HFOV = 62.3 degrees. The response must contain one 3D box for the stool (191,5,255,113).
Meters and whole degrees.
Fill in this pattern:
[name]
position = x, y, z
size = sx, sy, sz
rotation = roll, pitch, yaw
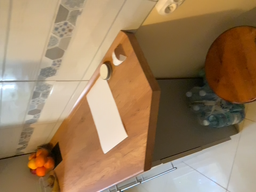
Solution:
[stool]
position = 0.600, -0.140, 0.970
size = 0.300, 0.460, 0.320
rotation = -33, 67, 51
